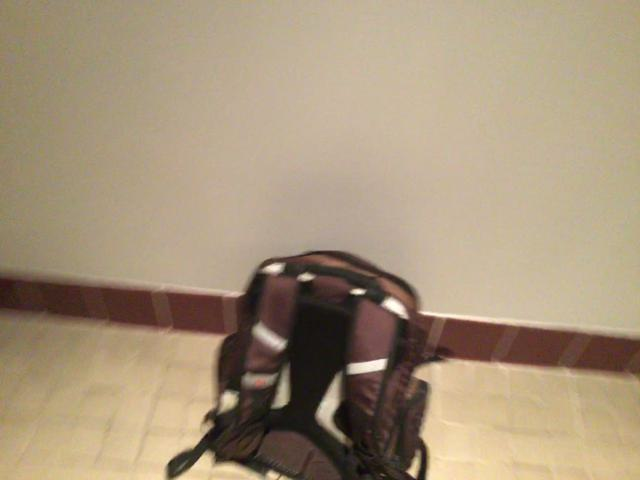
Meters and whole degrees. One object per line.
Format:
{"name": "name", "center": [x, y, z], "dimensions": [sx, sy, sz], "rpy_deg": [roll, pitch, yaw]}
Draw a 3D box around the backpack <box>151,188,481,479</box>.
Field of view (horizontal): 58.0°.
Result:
{"name": "backpack", "center": [0.010, 0.230, 1.070], "dimensions": [0.440, 0.450, 0.360], "rpy_deg": [12, 46, 9]}
